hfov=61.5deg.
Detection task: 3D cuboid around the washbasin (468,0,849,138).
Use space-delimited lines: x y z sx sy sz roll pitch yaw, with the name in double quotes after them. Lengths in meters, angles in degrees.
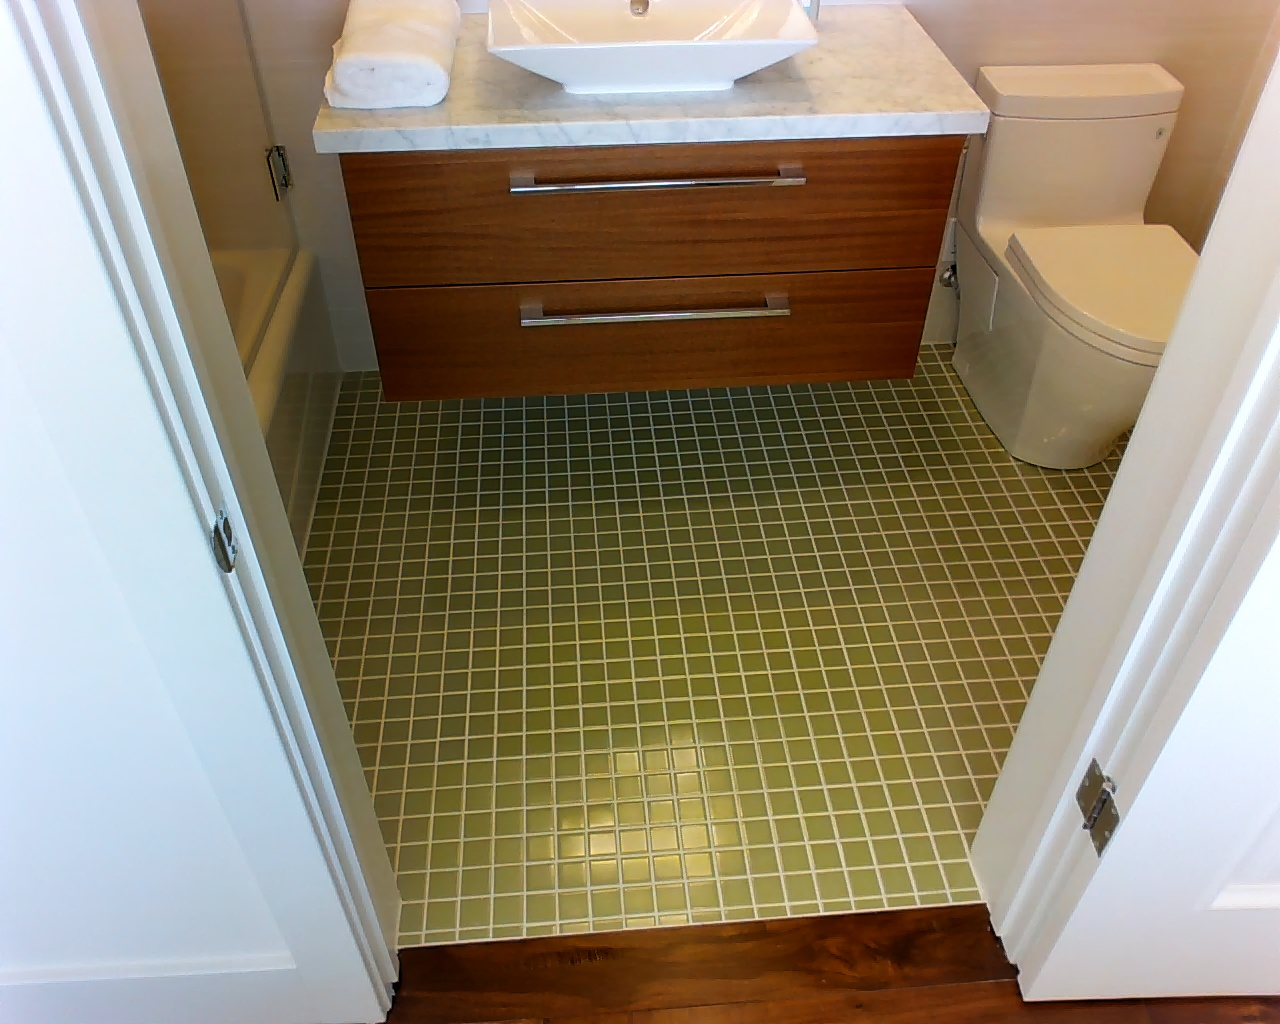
0.020 -0.830 1.930 0.620 0.150 0.370 -3 43 -3 "washbasin"
